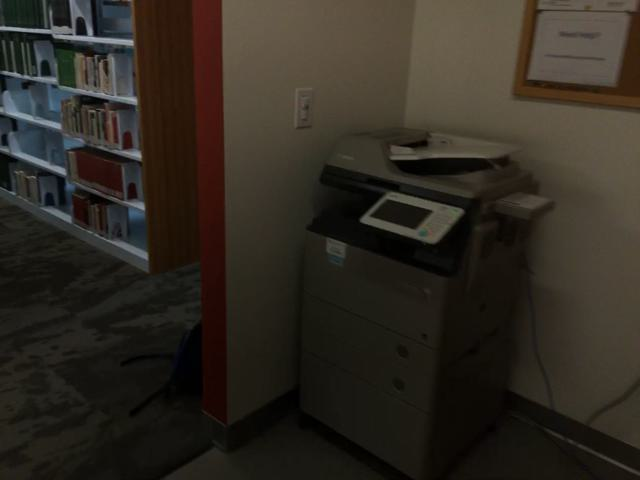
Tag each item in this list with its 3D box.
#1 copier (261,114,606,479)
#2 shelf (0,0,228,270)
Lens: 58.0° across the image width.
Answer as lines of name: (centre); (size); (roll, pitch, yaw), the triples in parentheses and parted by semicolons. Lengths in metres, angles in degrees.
copier: (0.330, 0.190, 1.920); (0.730, 1.050, 0.730); (21, 27, 39)
shelf: (-2.420, -1.170, 4.500); (4.900, 1.300, 0.420); (21, 27, 39)
